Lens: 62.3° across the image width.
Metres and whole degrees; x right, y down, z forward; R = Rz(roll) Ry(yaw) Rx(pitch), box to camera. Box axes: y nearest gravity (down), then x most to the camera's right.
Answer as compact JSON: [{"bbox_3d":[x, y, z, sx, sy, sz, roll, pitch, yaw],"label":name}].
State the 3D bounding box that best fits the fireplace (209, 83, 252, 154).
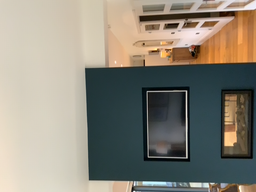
[{"bbox_3d":[1.450,0.300,3.050,0.400,0.430,0.940,-46,-45,-83],"label":"fireplace"}]
